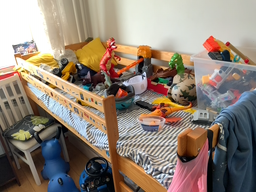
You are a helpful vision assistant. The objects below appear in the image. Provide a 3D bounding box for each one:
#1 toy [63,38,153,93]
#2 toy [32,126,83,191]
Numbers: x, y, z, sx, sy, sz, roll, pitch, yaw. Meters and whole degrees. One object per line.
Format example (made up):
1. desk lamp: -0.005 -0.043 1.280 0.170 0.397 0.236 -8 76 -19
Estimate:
1. toy: -0.180 -0.320 1.950 0.600 0.280 0.540 -22 30 -33
2. toy: -0.620 0.610 1.860 0.300 0.460 0.480 -14 27 -20
